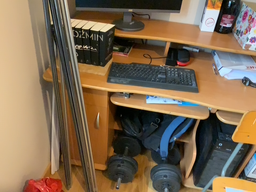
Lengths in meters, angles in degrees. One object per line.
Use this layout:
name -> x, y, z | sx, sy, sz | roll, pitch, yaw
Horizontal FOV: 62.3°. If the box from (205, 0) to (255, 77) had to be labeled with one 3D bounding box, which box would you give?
box -> 0.670, -0.350, 1.250 | 0.300, 0.300, 0.380 | 10, 37, 5
